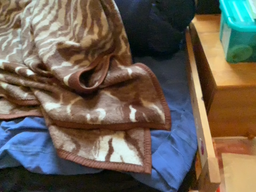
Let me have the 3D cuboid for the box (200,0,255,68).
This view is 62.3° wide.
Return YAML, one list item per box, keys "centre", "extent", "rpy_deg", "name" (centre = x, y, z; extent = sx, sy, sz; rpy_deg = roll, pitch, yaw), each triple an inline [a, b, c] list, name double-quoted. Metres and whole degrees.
- centre: [0.520, -0.300, 0.770]
  extent: [0.410, 0.170, 0.390]
  rpy_deg: [0, 49, 5]
  name: "box"
